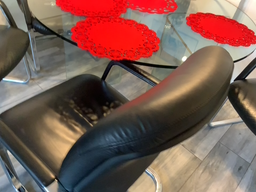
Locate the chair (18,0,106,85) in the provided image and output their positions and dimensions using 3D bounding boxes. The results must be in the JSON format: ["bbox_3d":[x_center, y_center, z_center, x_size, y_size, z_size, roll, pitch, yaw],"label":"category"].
[{"bbox_3d":[-0.550,-0.690,1.670,0.490,0.910,0.660,-16,50,-27],"label":"chair"}]
